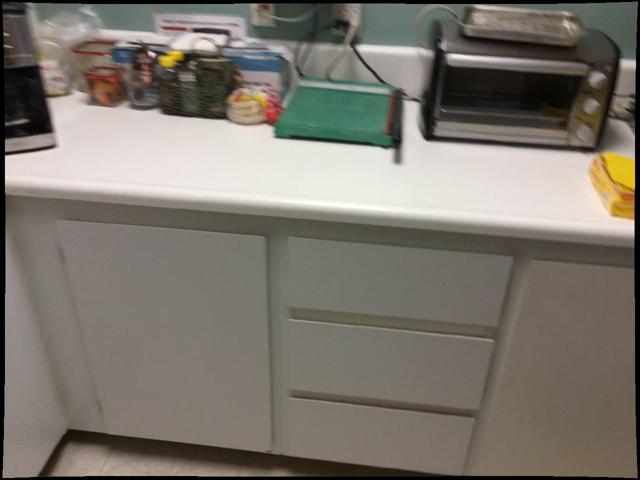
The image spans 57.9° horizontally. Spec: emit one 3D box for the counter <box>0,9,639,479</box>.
[{"bbox_3d":[-0.140,0.160,0.770,2.557,0.330,2.621,5,32,6],"label":"counter"}]

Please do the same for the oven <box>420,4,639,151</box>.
[{"bbox_3d":[0.529,-0.460,1.590,0.470,0.270,0.380,5,32,6],"label":"oven"}]
